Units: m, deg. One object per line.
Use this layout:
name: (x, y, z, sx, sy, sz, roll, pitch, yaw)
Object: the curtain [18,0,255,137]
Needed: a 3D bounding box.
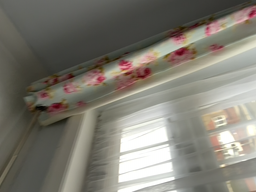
curtain: (0.510, -0.290, 0.880, 0.260, 2.100, 0.260, -88, -26, -54)
